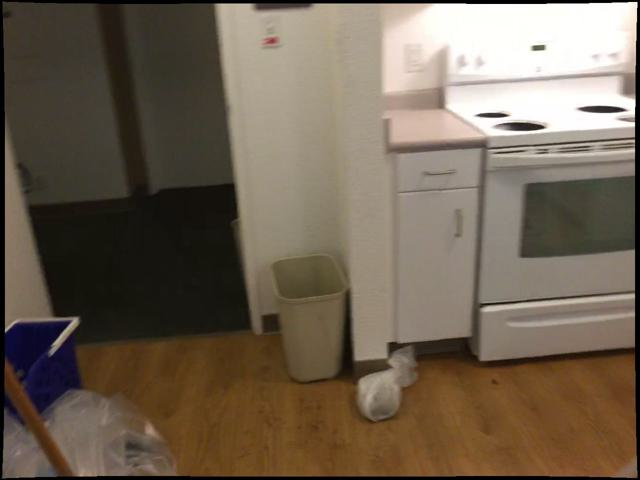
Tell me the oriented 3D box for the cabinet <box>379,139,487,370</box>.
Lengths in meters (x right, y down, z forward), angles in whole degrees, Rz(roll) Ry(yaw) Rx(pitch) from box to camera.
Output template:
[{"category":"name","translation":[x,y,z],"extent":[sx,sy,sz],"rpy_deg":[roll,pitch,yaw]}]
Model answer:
[{"category":"cabinet","translation":[0.409,0.080,2.180],"extent":[0.359,0.892,0.090],"rpy_deg":[-5,23,-5]}]
